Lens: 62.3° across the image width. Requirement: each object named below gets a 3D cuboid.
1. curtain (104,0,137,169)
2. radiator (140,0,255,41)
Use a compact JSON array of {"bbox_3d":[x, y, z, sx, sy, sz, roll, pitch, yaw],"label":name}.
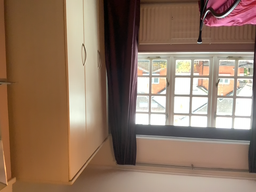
[{"bbox_3d":[-0.100,-0.200,2.850,0.400,2.340,0.240,1,-174,5],"label":"curtain"},{"bbox_3d":[0.920,-1.040,2.820,1.520,0.570,0.100,1,-174,7],"label":"radiator"}]
